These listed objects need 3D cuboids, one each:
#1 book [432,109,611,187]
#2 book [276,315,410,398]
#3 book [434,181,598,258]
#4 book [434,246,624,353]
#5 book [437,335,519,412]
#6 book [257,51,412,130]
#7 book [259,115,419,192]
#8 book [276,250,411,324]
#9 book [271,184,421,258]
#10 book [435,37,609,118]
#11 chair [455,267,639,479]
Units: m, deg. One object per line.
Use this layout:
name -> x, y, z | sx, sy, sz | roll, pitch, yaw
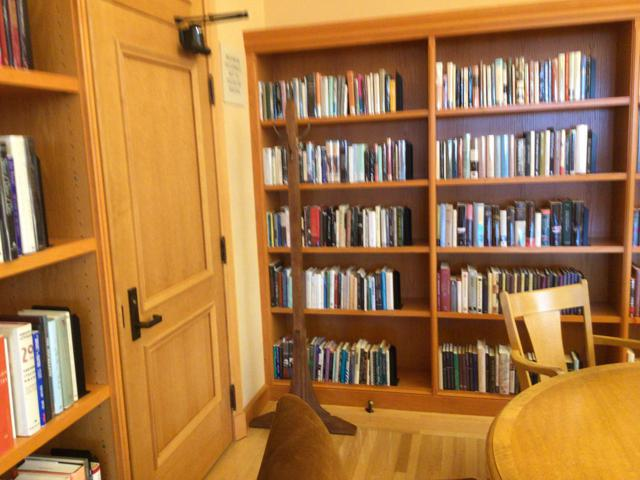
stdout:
book -> 1.020, -0.470, 2.990 | 0.820, 0.300, 0.300 | -3, 9, 17
book -> 0.150, 0.680, 3.440 | 0.690, 0.360, 0.390 | -3, 9, 17
book -> 1.020, -0.110, 3.060 | 0.770, 0.320, 0.320 | -3, 9, 17
book -> 1.080, 0.310, 3.070 | 0.870, 0.440, 0.440 | -3, 9, 17
book -> 0.880, 0.730, 3.220 | 0.400, 0.280, 0.400 | -3, 9, 17
book -> 0.090, -0.800, 3.170 | 0.760, 0.300, 0.360 | -3, 9, 17
book -> 0.120, -0.480, 3.240 | 0.790, 0.330, 0.400 | -3, 9, 17
book -> 0.150, 0.270, 3.370 | 0.690, 0.320, 0.390 | -3, 9, 17
book -> 0.160, -0.110, 3.300 | 0.760, 0.330, 0.370 | -3, 9, 17
book -> 1.000, -0.800, 2.920 | 0.780, 0.270, 0.290 | -3, 9, 17
chair -> 1.040, 0.630, 2.340 | 0.710, 0.850, 0.650 | -7, 9, -10
